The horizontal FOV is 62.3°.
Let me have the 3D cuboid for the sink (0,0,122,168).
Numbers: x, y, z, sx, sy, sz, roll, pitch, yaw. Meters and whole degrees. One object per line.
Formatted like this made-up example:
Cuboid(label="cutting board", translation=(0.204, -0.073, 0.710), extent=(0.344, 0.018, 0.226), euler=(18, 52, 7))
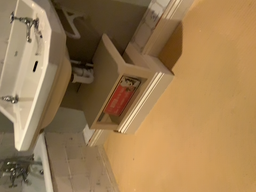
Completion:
Cuboid(label="sink", translation=(-0.420, -0.060, 1.050), extent=(0.710, 0.350, 0.470), euler=(-56, 42, 28))
